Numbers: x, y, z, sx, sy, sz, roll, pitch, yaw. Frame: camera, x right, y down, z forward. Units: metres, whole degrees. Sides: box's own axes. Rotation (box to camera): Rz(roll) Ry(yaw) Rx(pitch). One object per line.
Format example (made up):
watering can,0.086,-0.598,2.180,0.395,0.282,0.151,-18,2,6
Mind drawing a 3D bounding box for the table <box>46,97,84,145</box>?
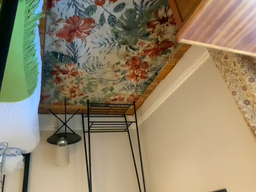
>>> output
table,-0.780,0.310,2.590,0.390,0.440,0.400,3,149,-22
